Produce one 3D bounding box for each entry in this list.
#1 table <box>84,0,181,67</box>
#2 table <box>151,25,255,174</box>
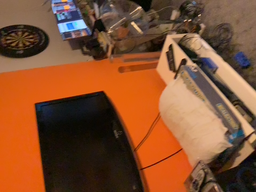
[{"bbox_3d":[-0.070,-1.200,2.880,0.680,0.720,1.520,102,150,-49],"label":"table"},{"bbox_3d":[0.680,-0.050,1.810,0.490,0.430,1.170,102,150,-49],"label":"table"}]
